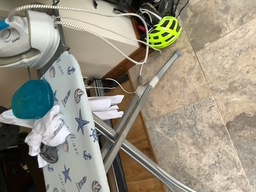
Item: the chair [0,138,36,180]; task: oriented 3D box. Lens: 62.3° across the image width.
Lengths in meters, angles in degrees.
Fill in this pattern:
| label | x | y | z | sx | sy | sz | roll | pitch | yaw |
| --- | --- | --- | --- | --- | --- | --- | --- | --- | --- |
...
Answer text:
| label | x | y | z | sx | sy | sz | roll | pitch | yaw |
| --- | --- | --- | --- | --- | --- | --- | --- | --- | --- |
| chair | -1.850 | 0.910 | 2.860 | 0.310 | 1.020 | 0.460 | -30 | 70 | 40 |
